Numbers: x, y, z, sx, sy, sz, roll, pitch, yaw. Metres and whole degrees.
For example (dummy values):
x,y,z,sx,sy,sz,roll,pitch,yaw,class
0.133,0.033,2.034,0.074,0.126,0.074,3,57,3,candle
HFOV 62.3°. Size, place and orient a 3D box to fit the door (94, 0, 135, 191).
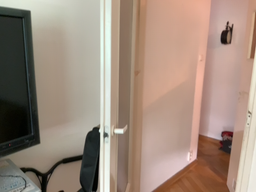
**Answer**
x,y,z,sx,sy,sz,roll,pitch,yaw,class
-0.060,0.220,1.320,0.090,2.080,0.800,3,12,5,door
